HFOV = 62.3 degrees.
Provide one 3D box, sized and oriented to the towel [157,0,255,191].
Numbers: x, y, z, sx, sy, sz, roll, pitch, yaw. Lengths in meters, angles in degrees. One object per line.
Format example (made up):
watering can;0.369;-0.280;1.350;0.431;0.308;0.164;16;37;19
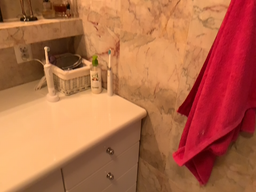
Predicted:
towel;0.250;-0.010;0.620;0.220;0.810;0.120;27;37;36
